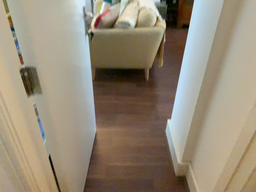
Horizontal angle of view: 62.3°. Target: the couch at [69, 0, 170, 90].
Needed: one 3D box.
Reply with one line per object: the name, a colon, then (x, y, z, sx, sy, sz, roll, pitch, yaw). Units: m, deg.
couch: (-0.110, -0.840, 2.810, 0.930, 0.790, 1.510, 0, 36, -2)
